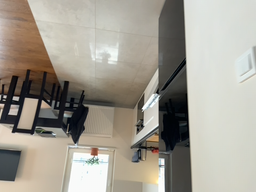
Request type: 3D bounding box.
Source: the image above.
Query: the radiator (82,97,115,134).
[{"bbox_3d":[-0.570,0.390,4.170,0.580,0.640,0.180,7,160,-10],"label":"radiator"}]

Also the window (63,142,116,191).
[{"bbox_3d":[-0.740,1.710,3.980,0.900,1.580,0.120,5,160,-6],"label":"window"}]
